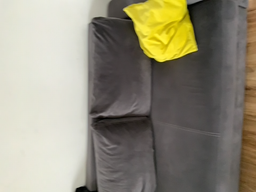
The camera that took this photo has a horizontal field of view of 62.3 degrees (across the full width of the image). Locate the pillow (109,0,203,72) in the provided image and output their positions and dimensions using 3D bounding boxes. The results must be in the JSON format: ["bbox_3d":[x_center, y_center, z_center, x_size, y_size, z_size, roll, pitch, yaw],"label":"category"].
[{"bbox_3d":[0.160,-0.480,1.450,0.590,0.320,0.580,2,93,56],"label":"pillow"}]

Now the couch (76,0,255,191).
[{"bbox_3d":[0.180,0.530,1.590,1.010,0.810,2.670,5,95,55],"label":"couch"}]
